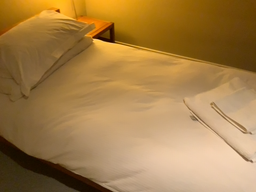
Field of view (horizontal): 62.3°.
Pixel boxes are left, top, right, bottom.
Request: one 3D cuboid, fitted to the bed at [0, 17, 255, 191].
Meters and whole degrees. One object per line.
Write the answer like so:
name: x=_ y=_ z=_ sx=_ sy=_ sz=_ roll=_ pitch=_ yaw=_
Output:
bed: x=0.010 y=0.080 z=1.460 sx=2.090 sy=0.560 sz=1.170 roll=17 pitch=43 yaw=19
